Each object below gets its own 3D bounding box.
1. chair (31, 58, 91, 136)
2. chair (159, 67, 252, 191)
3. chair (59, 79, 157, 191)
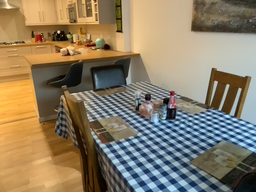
[{"bbox_3d":[-0.850,-0.010,2.830,0.490,0.910,0.490,2,20,8],"label":"chair"},{"bbox_3d":[0.550,0.330,1.640,0.490,1.010,0.340,-11,21,-24],"label":"chair"},{"bbox_3d":[-0.110,0.430,1.450,0.490,0.980,0.330,-14,23,-31],"label":"chair"}]
